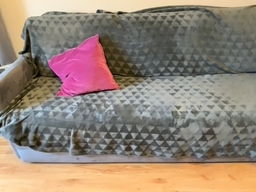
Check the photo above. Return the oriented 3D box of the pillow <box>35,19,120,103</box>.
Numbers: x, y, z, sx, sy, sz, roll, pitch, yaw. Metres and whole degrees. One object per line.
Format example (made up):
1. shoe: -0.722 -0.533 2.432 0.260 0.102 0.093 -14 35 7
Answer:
1. pillow: -0.350 -0.220 1.470 0.400 0.390 0.240 23 34 -31
